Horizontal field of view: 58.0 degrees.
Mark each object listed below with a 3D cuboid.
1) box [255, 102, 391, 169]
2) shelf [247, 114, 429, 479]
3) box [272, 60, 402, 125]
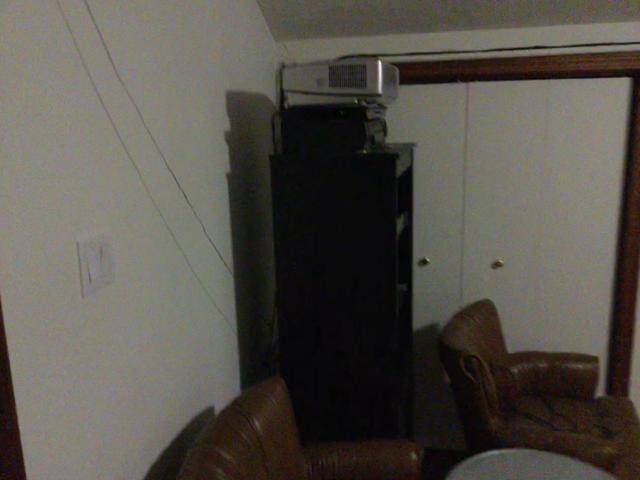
[{"bbox_3d":[0.030,-0.340,1.830,0.340,0.160,0.420,-1,13,13],"label":"box"},{"bbox_3d":[0.120,0.230,2.030,0.460,1.270,0.560,-1,13,13],"label":"shelf"},{"bbox_3d":[0.070,-0.450,1.780,0.330,0.150,0.370,-1,13,13],"label":"box"}]
